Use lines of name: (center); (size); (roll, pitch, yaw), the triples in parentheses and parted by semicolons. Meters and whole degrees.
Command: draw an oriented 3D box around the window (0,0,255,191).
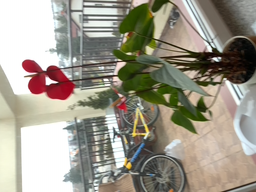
window: (-0.230, -0.110, 0.720); (0.220, 1.440, 1.100); (114, 145, -58)
